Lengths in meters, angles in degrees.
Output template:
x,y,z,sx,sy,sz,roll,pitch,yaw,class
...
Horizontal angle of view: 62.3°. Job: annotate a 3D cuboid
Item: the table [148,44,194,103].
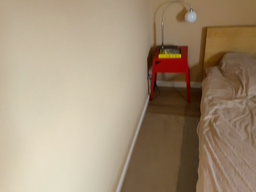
x,y,z,sx,sy,sz,roll,pitch,yaw,class
0.510,-0.270,2.510,0.470,0.580,0.370,2,34,13,table
